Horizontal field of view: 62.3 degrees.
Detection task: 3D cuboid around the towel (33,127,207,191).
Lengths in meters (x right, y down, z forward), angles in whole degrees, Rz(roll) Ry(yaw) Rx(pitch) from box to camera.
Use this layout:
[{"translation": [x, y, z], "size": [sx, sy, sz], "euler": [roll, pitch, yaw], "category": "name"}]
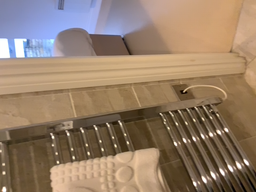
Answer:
[{"translation": [0.000, 0.260, 0.490], "size": [0.120, 0.370, 0.290], "euler": [-58, 46, 50], "category": "towel"}]
